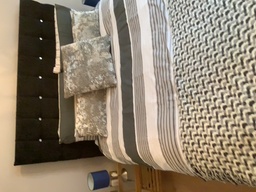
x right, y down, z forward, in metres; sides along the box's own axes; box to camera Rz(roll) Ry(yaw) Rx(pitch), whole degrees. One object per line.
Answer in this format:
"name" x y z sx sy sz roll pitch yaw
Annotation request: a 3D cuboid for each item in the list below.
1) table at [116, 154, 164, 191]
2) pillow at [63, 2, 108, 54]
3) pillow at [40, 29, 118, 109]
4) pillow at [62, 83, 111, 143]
"table" 0.120 0.830 2.220 0.290 0.390 0.370 -19 71 57
"pillow" -0.390 -0.620 1.980 0.150 0.280 0.410 -19 87 43
"pillow" -0.370 -0.250 1.780 0.160 0.490 0.530 -23 102 28
"pillow" -0.340 0.140 1.810 0.120 0.290 0.420 -12 103 31
